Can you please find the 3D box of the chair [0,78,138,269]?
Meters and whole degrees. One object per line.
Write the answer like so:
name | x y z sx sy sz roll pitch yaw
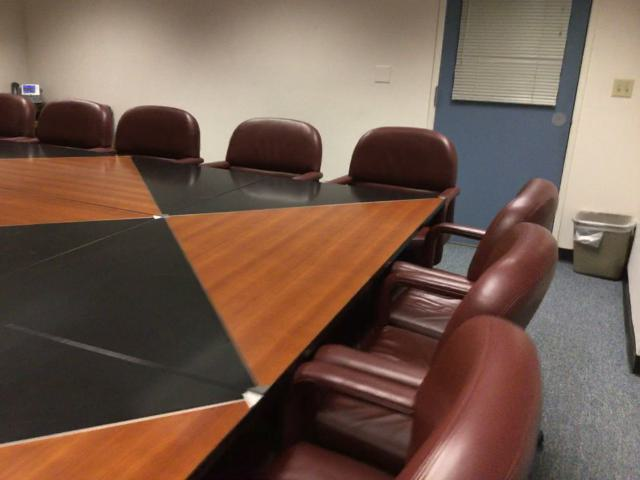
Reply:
chair | -1.650 -0.450 3.520 0.670 0.960 0.700 11 22 24

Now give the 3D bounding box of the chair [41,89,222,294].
chair | -1.030 -0.320 3.310 0.620 0.970 0.670 11 22 24

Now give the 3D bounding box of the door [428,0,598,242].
door | 1.210 -0.940 3.710 0.850 1.830 0.140 11 22 24

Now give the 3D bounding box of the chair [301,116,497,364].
chair | 0.390 -0.060 2.870 0.700 0.960 0.700 11 22 24

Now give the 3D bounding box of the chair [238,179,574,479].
chair | 0.230 0.380 1.550 0.650 0.900 0.600 11 22 24

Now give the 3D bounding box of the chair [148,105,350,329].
chair | -0.350 -0.180 3.100 0.760 0.940 0.700 11 22 24
